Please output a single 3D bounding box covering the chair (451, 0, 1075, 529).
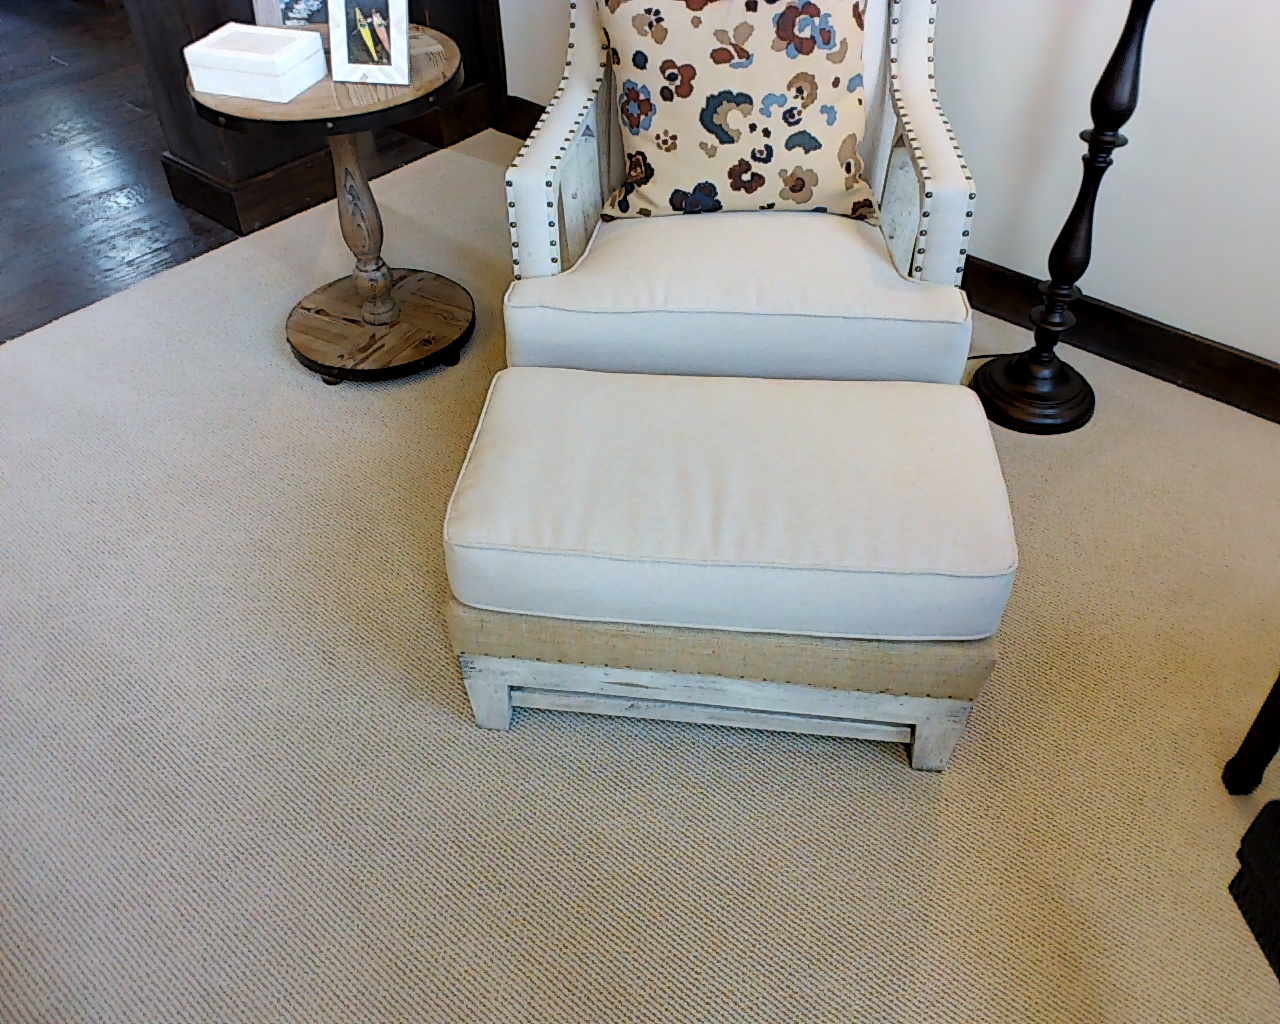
[{"bbox_3d":[0.210,-0.730,2.060,0.820,1.050,1.030,4,43,5],"label":"chair"}]
